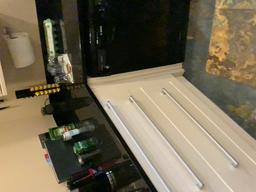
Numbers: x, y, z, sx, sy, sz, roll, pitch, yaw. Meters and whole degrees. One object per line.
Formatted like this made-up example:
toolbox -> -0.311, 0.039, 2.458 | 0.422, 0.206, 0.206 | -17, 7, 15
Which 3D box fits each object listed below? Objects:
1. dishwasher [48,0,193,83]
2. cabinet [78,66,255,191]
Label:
dishwasher -> -0.060, -0.550, 1.680 | 0.610, 0.910, 0.600 | 30, 126, 51
cabinet -> 0.300, 0.390, 1.470 | 1.040, 0.910, 0.610 | 51, 141, 36
